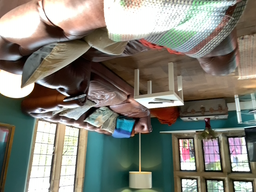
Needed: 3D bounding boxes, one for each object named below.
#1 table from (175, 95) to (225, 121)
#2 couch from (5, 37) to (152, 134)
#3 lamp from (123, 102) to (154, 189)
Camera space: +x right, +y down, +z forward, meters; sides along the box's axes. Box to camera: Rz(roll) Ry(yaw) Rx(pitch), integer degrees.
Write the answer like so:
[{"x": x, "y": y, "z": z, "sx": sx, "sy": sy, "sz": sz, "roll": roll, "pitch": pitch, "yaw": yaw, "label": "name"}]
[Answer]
[{"x": 1.510, "y": 0.270, "z": 4.450, "sx": 0.910, "sy": 0.380, "sz": 0.560, "roll": -5, "pitch": 162, "yaw": 21, "label": "table"}, {"x": -0.480, "y": 0.080, "z": 3.340, "sx": 1.030, "sy": 0.740, "sz": 2.260, "roll": -7, "pitch": 162, "yaw": 24, "label": "couch"}, {"x": 0.220, "y": 1.090, "z": 4.790, "sx": 0.510, "sy": 1.800, "sz": 0.500, "roll": 7, "pitch": 162, "yaw": -19, "label": "lamp"}]
